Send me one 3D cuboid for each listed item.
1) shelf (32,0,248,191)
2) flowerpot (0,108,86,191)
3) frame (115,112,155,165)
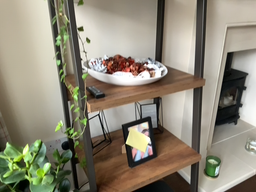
[{"bbox_3d":[0.010,0.030,1.010,0.660,1.540,0.550,-12,26,-25],"label":"shelf"},{"bbox_3d":[-0.360,0.530,0.850,0.330,0.840,0.360,-13,26,-26],"label":"flowerpot"},{"bbox_3d":[0.030,0.200,1.040,0.130,0.170,0.160,-11,26,-22],"label":"frame"}]
